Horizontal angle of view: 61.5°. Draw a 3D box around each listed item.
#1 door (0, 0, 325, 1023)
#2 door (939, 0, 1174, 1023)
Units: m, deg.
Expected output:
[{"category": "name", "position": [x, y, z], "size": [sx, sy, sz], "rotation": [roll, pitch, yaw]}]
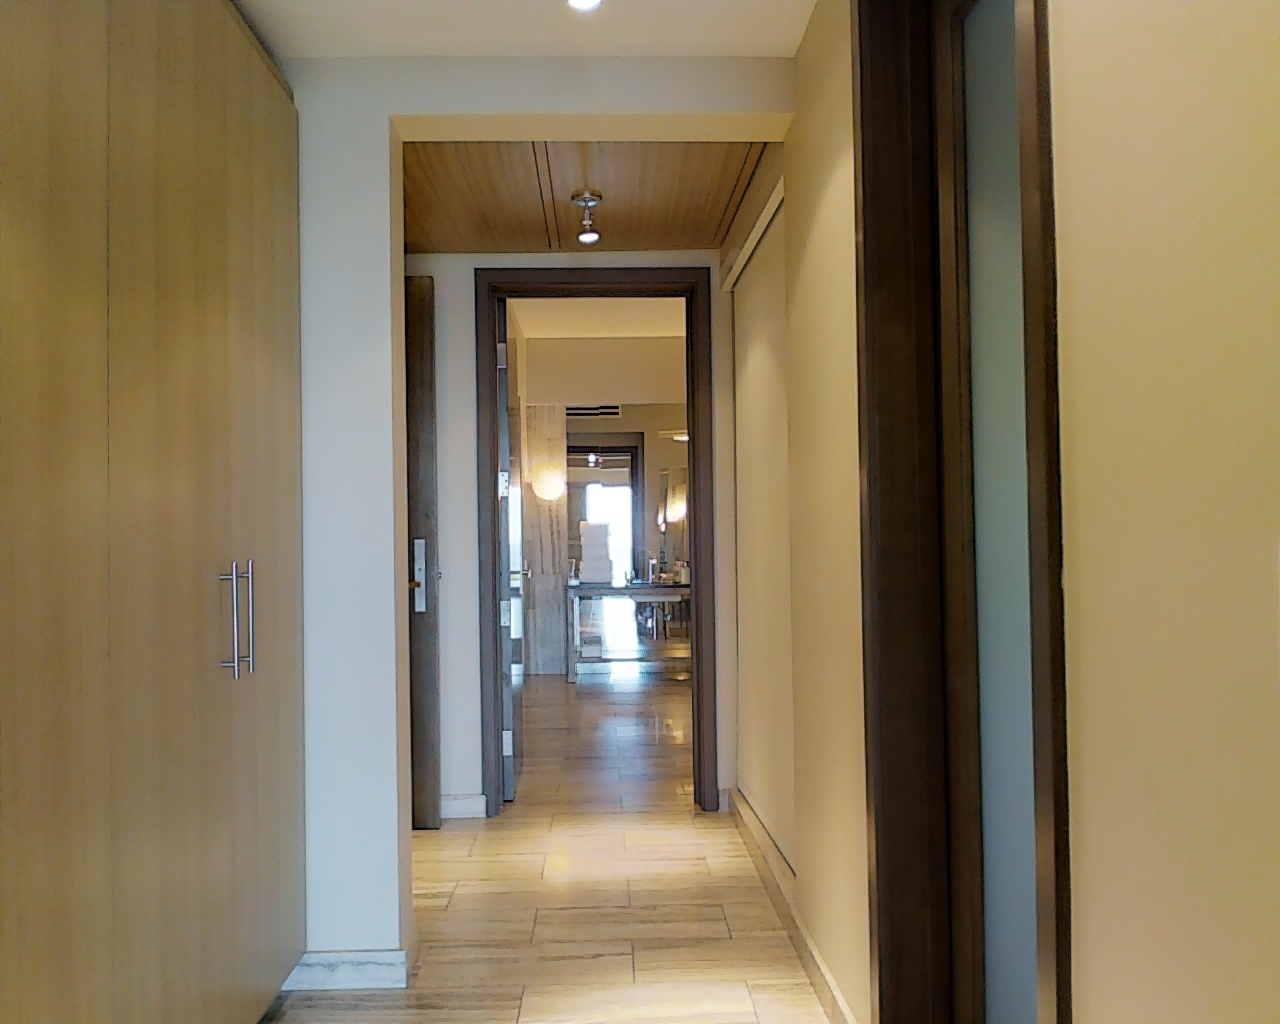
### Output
[{"category": "door", "position": [-0.890, -0.010, 1.850], "size": [0.050, 2.400, 2.360], "rotation": [-1, -1, -2]}, {"category": "door", "position": [0.670, 0.070, 1.830], "size": [0.040, 2.350, 0.780], "rotation": [-1, -1, -2]}]
